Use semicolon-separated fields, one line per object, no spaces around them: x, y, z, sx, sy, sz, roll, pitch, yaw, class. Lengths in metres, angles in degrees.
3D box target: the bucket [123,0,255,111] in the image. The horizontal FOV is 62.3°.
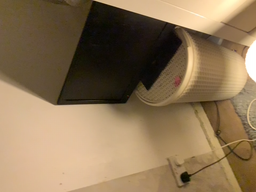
0.360;-0.190;1.180;0.380;0.580;0.410;-40;59;45;bucket
